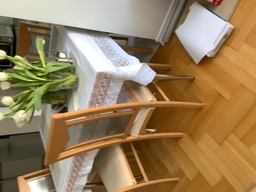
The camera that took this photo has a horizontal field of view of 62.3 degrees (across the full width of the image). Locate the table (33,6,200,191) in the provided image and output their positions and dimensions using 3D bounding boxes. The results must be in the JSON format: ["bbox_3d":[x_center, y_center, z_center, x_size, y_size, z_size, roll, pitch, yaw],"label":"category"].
[{"bbox_3d":[-0.250,0.070,1.850,0.940,0.810,1.240,50,130,41],"label":"table"}]

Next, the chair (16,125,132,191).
[{"bbox_3d":[-0.540,0.670,2.140,0.450,0.980,0.460,56,134,37],"label":"chair"}]

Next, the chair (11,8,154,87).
[{"bbox_3d":[-0.380,-0.380,1.820,0.520,1.030,0.370,50,130,41],"label":"chair"}]
